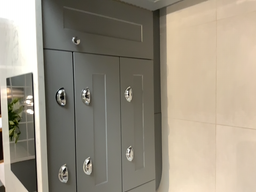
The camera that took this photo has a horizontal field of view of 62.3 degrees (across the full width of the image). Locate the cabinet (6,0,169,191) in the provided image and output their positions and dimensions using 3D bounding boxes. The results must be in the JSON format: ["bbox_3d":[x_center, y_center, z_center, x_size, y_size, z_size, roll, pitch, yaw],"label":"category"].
[{"bbox_3d":[-0.210,0.180,1.400,0.490,0.890,1.460,3,95,49],"label":"cabinet"}]
